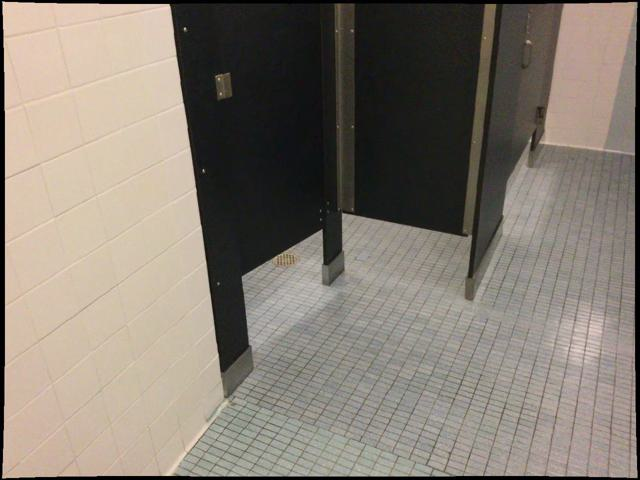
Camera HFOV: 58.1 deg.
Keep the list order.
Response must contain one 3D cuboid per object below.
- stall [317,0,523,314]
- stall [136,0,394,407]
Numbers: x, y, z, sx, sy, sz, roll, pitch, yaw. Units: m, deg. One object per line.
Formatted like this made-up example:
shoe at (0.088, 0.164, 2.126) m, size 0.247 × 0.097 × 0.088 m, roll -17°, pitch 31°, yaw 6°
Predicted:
stall at (0.359, -0.381, 2.230) m, size 0.649 × 1.273 × 0.270 m, roll 12°, pitch 31°, yaw 24°
stall at (-0.060, -0.231, 1.900) m, size 0.259 × 1.102 × 1.000 m, roll 11°, pitch 31°, yaw 24°
